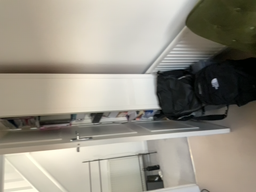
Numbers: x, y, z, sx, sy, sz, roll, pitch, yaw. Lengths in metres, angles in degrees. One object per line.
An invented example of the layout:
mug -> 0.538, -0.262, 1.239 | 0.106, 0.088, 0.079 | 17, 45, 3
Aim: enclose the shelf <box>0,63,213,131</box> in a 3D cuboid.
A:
shelf -> -0.210, 0.010, 2.110 | 0.600, 1.960, 0.430 | 133, 133, -66
